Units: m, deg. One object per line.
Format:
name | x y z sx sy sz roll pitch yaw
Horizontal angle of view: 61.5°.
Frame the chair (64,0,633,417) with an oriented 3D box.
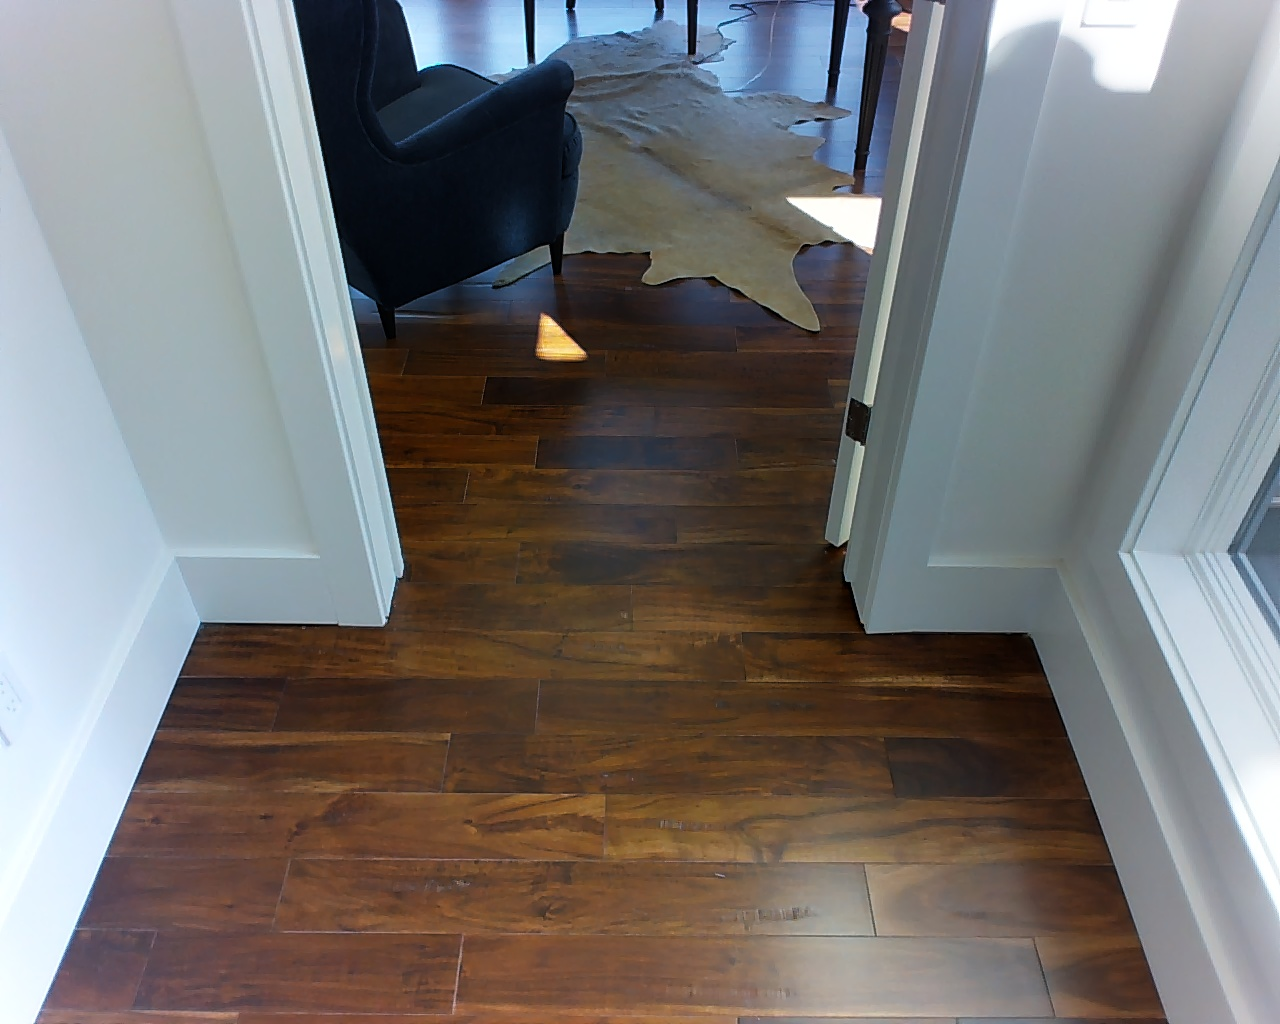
chair | -0.680 -1.030 2.740 1.030 0.970 0.840 -34 52 -32
